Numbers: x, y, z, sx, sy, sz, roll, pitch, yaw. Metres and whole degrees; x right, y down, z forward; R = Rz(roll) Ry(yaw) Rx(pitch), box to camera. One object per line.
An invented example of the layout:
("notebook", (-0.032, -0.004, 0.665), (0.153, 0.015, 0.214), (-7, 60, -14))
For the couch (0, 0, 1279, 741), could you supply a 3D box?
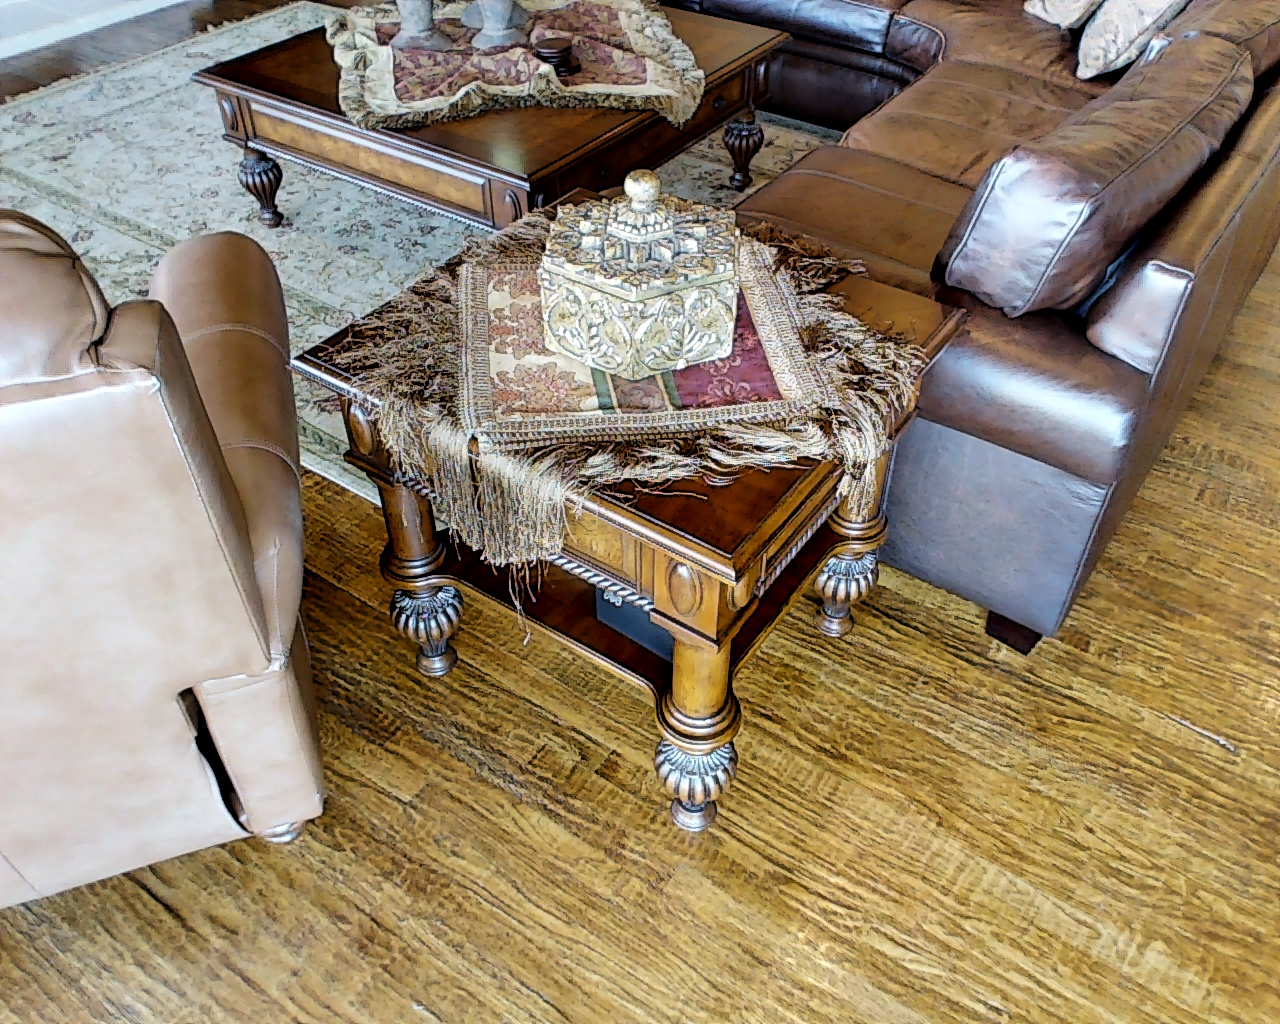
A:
("couch", (0.370, -1.340, 3.120), (2.930, 0.940, 3.040), (25, 48, 26))
